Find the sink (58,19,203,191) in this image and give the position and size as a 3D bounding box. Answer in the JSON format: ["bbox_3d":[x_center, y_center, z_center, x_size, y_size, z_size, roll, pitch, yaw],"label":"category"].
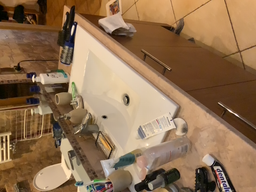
[{"bbox_3d":[-0.090,0.000,1.030,0.770,0.180,0.470,44,129,38],"label":"sink"}]
